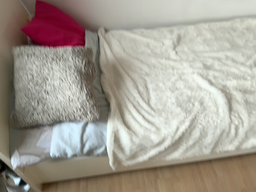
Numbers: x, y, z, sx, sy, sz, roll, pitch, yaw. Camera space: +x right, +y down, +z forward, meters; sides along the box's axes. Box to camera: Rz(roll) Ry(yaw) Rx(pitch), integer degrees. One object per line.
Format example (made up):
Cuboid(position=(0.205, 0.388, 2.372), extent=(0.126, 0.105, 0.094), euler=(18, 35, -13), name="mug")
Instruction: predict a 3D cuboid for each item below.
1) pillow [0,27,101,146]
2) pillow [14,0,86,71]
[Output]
Cuboid(position=(-0.400, -0.070, 1.070), extent=(0.440, 0.290, 0.470), euler=(-9, 50, -8), name="pillow")
Cuboid(position=(-0.480, -0.430, 1.420), extent=(0.350, 0.280, 0.430), euler=(-6, 50, -5), name="pillow")
